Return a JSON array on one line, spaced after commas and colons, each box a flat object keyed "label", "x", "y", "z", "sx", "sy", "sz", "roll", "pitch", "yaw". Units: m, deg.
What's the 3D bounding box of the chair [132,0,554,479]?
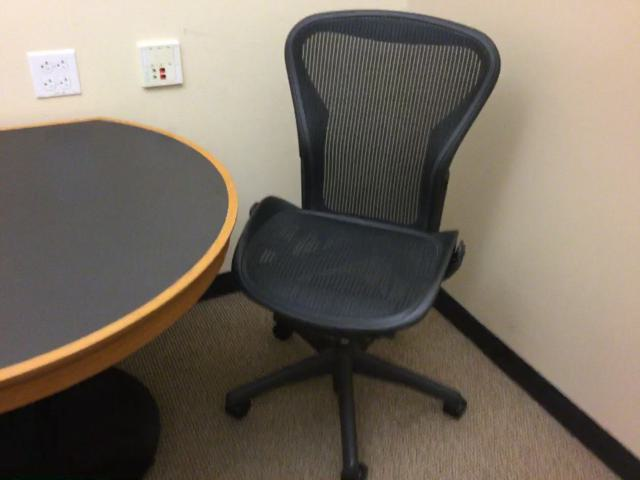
[{"label": "chair", "x": 0.090, "y": 0.000, "z": 1.510, "sx": 0.710, "sy": 1.040, "sz": 0.710, "roll": 9, "pitch": 32, "yaw": 12}]
